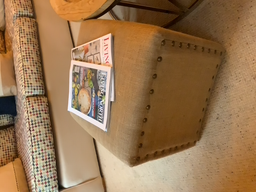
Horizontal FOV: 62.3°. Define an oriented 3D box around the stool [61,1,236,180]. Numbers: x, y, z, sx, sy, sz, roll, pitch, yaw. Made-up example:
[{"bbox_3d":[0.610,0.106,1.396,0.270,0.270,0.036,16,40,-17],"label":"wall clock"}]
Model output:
[{"bbox_3d":[0.050,-0.070,0.940,0.500,0.440,0.540,28,112,44],"label":"stool"}]
